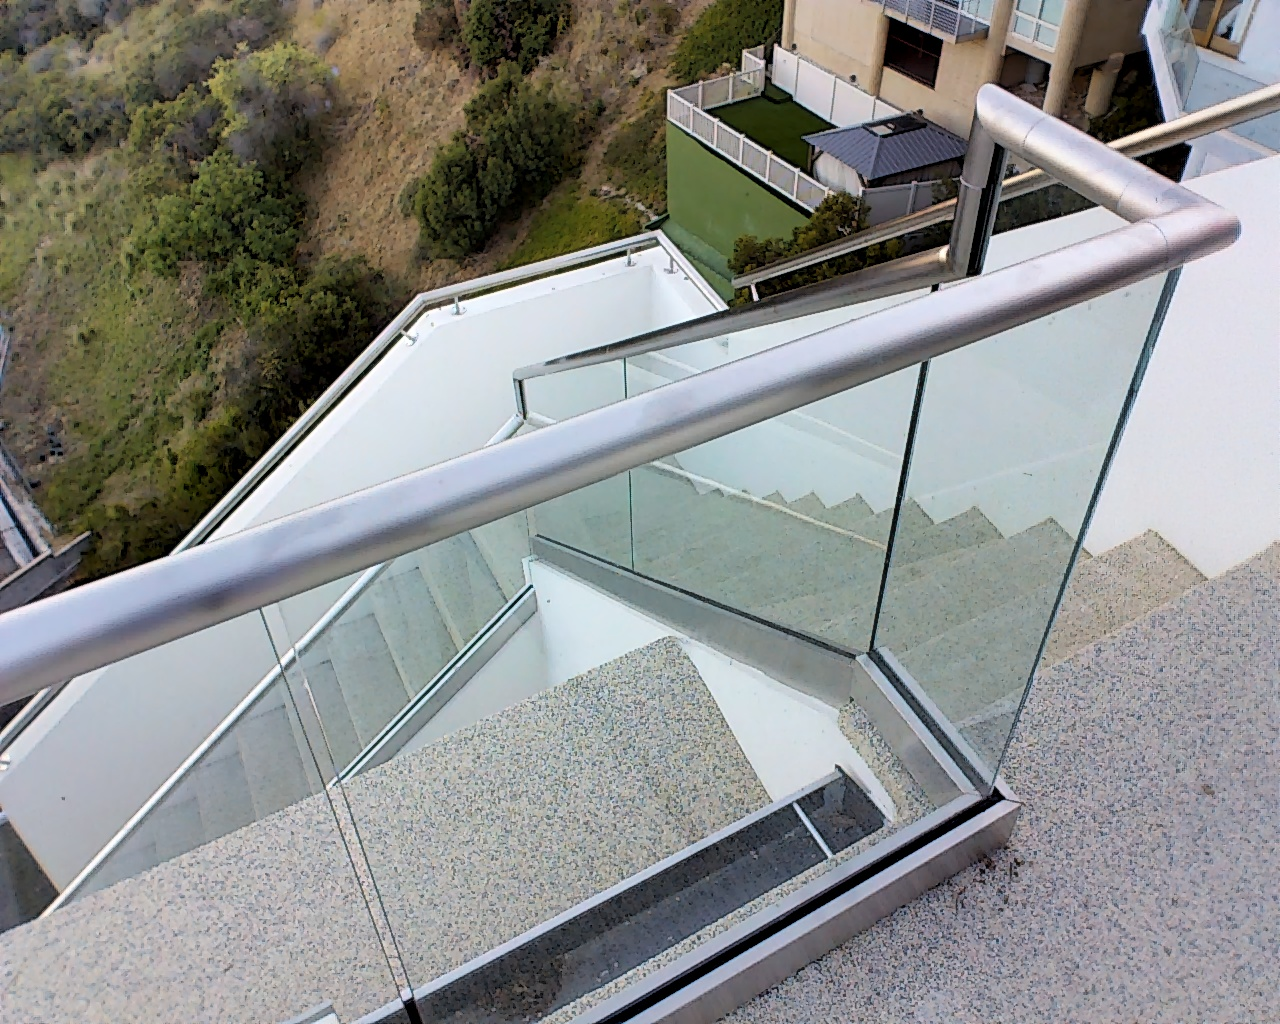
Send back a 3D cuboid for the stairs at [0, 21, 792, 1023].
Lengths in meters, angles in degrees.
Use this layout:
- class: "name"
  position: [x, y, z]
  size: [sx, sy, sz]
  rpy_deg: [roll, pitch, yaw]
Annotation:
- class: "stairs"
  position: [-1.520, 0.410, 4.870]
  size: [3.790, 4.060, 1.530]
  rpy_deg: [-17, 45, -18]
